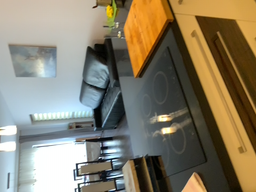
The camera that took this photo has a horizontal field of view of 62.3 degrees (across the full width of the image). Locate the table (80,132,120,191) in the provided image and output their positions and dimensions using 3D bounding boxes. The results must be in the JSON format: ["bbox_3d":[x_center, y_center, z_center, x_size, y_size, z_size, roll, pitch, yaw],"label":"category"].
[{"bbox_3d":[-0.820,2.080,5.880,0.960,0.790,1.840,118,145,-56],"label":"table"}]
